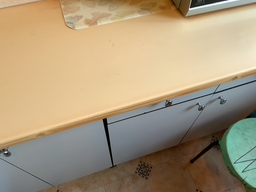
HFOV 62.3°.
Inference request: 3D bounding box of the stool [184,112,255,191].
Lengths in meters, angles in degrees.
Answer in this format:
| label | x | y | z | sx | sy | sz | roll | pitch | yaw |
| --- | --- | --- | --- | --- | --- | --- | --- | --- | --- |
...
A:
| label | x | y | z | sx | sy | sz | roll | pitch | yaw |
| --- | --- | --- | --- | --- | --- | --- | --- | --- | --- |
| stool | 0.570 | 0.340 | 1.070 | 0.340 | 0.470 | 0.330 | -16 | 62 | -10 |
